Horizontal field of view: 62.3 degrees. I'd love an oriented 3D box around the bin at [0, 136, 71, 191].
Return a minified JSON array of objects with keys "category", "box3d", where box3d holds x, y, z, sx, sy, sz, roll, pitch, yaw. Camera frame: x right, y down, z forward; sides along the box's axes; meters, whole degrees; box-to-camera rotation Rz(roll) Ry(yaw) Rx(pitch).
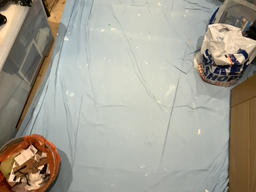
[{"category":"bin","box3d":[-0.420,0.320,0.940,0.270,0.230,0.260,1,75,-3]}]
